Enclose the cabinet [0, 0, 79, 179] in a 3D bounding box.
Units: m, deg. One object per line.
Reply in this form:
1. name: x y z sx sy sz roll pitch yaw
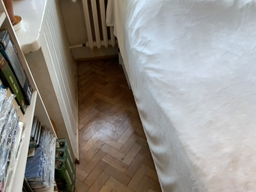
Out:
1. cabinet: -0.630 -0.230 1.590 0.310 0.980 1.250 -9 42 -9
